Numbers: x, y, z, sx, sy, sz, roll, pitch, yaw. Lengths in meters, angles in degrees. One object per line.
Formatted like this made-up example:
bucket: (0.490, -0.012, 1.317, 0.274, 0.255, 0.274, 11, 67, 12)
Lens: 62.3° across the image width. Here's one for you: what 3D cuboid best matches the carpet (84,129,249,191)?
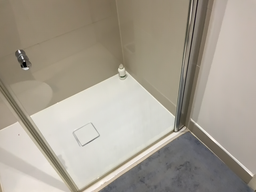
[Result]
carpet: (0.200, 0.550, 1.190, 0.770, 0.050, 0.490, -27, 50, -18)
